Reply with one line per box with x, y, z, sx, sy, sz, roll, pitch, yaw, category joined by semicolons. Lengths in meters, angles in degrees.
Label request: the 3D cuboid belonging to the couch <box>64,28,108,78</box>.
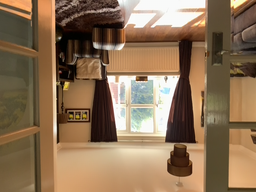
-0.760;-0.770;4.080;0.750;0.820;0.840;0;-178;-5;couch

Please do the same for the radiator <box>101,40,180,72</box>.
0.260;-0.840;4.470;1.640;0.640;0.110;1;-178;3;radiator

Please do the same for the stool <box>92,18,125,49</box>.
-0.320;-0.980;3.380;0.480;0.340;0.510;0;-178;-7;stool
